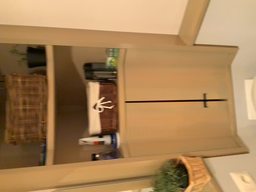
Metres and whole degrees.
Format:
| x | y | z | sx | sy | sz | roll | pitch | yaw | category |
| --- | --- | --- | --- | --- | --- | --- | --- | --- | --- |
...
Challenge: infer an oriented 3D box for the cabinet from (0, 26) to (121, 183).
| x | y | z | sx | sy | sz | roll | pitch | yaw | category |
| --- | --- | --- | --- | --- | --- | --- | --- | --- | --- |
| -0.400 | 0.030 | 0.970 | 0.380 | 0.650 | 0.560 | 178 | 91 | -75 | cabinet |
